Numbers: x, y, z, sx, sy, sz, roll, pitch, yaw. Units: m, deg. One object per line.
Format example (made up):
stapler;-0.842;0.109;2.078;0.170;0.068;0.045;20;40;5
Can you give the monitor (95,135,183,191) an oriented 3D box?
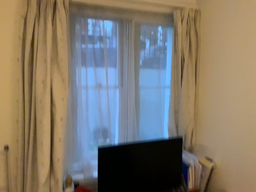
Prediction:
monitor;0.100;0.560;1.410;0.620;0.510;0.050;-5;9;-25
